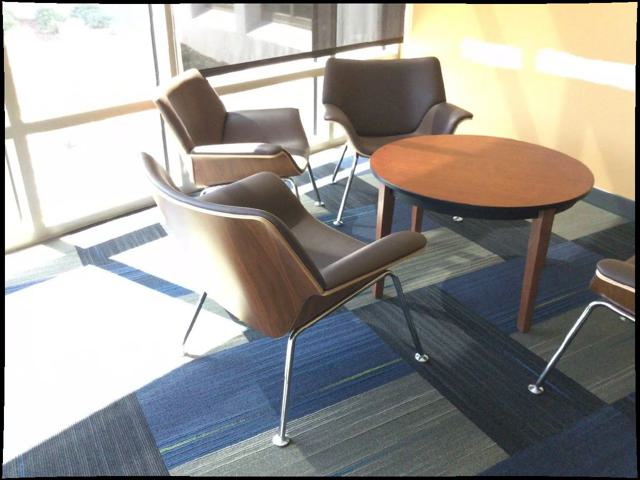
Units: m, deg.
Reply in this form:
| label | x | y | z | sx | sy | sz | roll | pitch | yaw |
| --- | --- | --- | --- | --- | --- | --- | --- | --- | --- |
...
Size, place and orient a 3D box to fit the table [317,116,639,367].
| label | x | y | z | sx | sy | sz | roll | pitch | yaw |
| --- | --- | --- | --- | --- | --- | --- | --- | --- | --- |
| table | 0.638 | -0.090 | 2.600 | 0.938 | 0.561 | 0.990 | -16 | 32 | -26 |
